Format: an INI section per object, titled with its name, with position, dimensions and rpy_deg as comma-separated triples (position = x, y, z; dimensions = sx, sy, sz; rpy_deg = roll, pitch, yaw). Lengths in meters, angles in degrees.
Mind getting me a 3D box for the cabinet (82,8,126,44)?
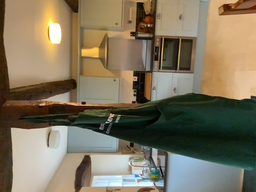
[cabinet]
position = -0.450, -1.290, 3.990
dimensions = 0.370, 0.760, 0.540
rpy_deg = -121, 34, -82
